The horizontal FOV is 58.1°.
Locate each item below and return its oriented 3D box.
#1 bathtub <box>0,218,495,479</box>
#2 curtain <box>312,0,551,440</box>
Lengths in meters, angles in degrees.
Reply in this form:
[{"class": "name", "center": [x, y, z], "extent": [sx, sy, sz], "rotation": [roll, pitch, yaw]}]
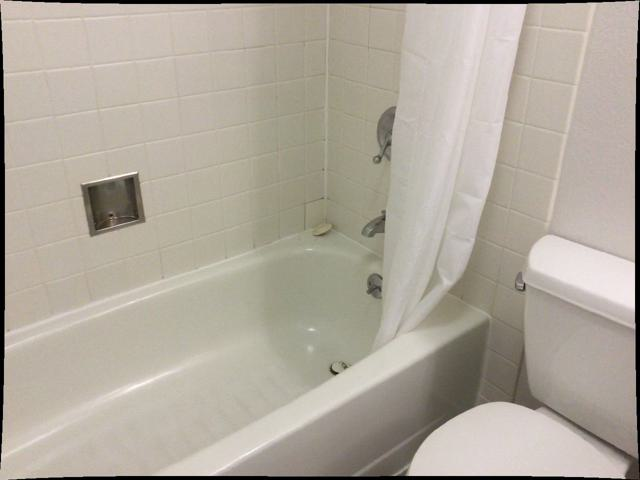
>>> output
[{"class": "bathtub", "center": [-0.349, 0.441, 1.530], "extent": [1.479, 0.411, 0.790], "rotation": [-18, 34, -35]}, {"class": "curtain", "center": [0.260, -0.471, 1.290], "extent": [0.320, 2.033, 0.340], "rotation": [-18, 34, -35]}]
